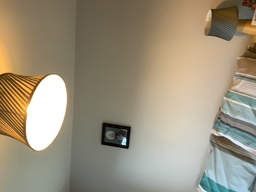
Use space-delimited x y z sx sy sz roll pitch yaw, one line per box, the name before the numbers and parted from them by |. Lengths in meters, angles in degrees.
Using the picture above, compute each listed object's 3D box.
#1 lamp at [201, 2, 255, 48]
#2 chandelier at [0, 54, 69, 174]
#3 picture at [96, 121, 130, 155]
lamp | 0.800 -0.540 1.620 0.250 0.370 0.270 -63 -18 -70
chandelier | -0.530 0.050 0.920 0.350 0.400 0.320 -71 -11 -56
picture | -0.170 0.460 2.320 0.040 0.340 0.340 -63 -18 -70
